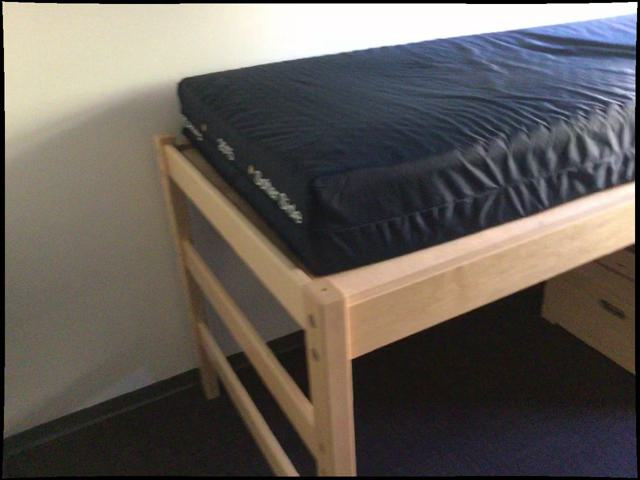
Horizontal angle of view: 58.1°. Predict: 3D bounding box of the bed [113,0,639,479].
[{"bbox_3d":[0.728,-0.060,1.860,2.266,1.102,1.130,-18,31,-23],"label":"bed"}]
